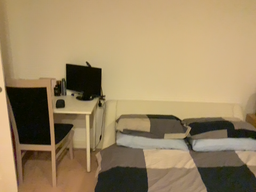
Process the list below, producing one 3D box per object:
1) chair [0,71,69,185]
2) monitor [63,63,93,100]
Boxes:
[{"bbox_3d":[-0.880,0.300,2.120,0.430,1.030,0.460,1,16,-4],"label":"chair"},{"bbox_3d":[-0.570,-0.170,2.410,0.400,0.360,0.040,10,18,27],"label":"monitor"}]
